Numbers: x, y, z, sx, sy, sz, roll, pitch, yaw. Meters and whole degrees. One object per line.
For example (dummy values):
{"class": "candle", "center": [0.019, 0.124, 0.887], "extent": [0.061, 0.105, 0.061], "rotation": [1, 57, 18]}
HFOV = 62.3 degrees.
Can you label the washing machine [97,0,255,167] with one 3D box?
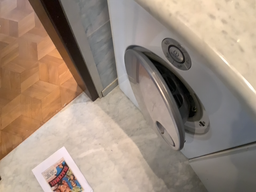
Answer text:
{"class": "washing machine", "center": [0.250, -0.100, 0.890], "extent": [0.410, 0.830, 0.610], "rotation": [-36, 74, -12]}
